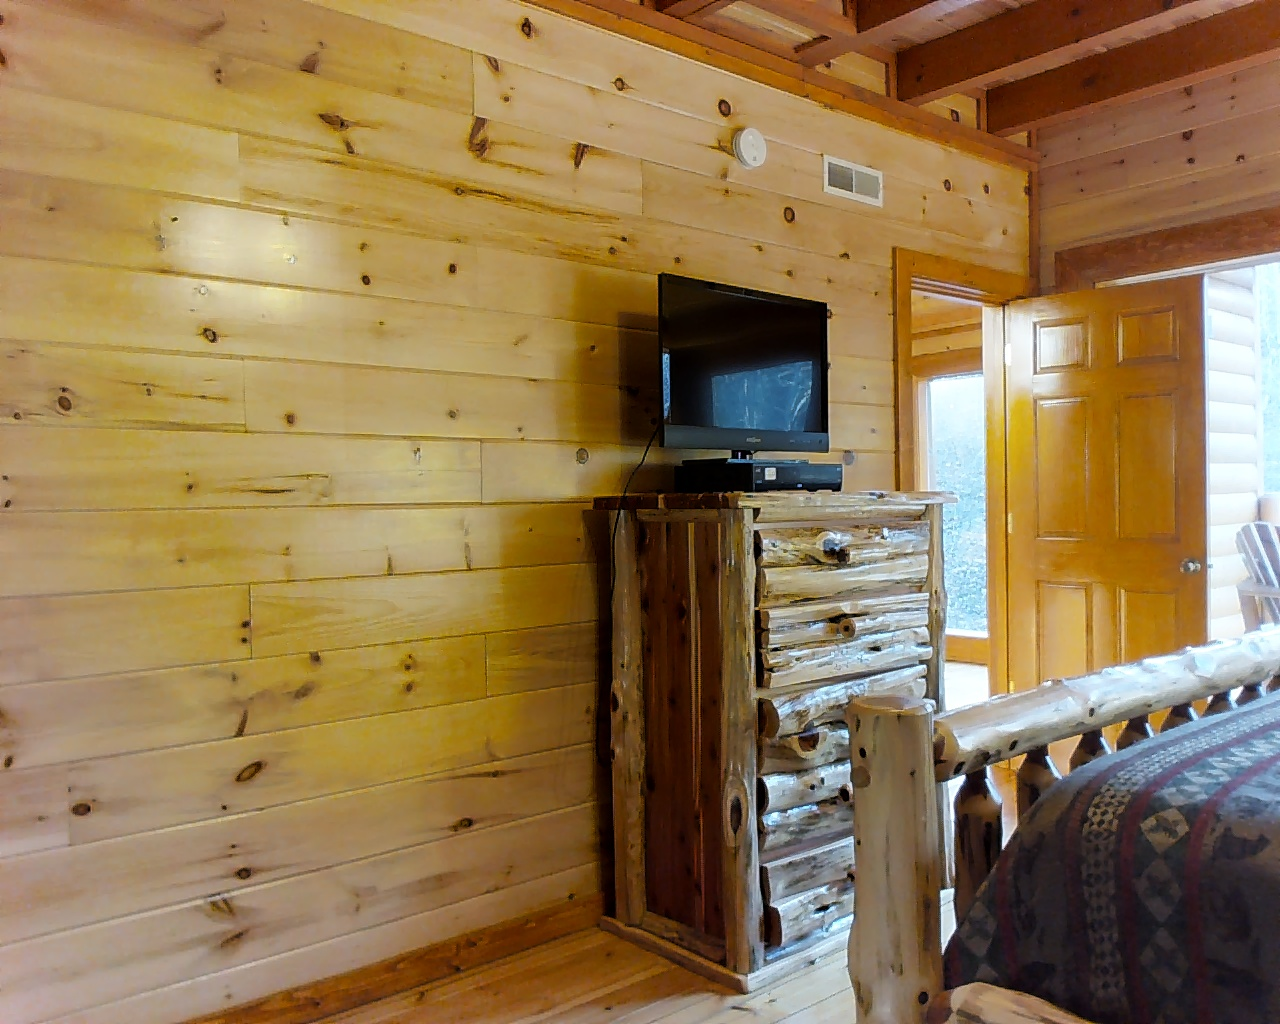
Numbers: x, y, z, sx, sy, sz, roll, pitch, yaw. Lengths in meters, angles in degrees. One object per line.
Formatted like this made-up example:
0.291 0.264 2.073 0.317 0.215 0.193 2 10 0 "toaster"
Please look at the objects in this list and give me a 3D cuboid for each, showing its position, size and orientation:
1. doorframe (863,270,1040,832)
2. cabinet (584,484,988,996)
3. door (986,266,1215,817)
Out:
1.300 0.140 4.440 0.870 2.131 0.190 -1 -1 -41 "doorframe"
0.440 0.550 3.160 0.970 1.230 0.660 -1 -1 -41 "cabinet"
1.839 0.120 4.380 0.050 2.071 0.850 -1 -1 -42 "door"
